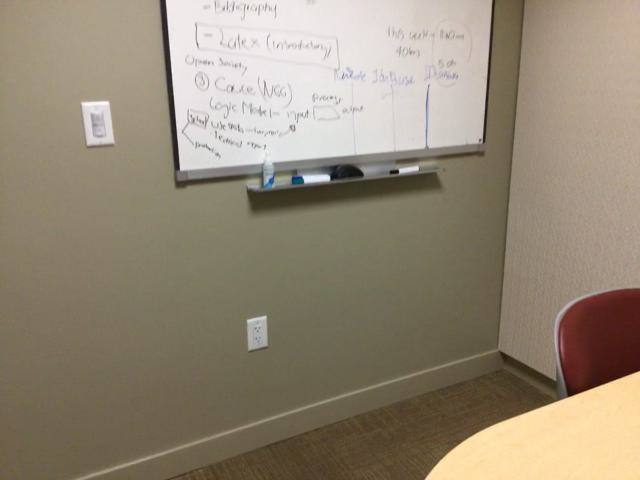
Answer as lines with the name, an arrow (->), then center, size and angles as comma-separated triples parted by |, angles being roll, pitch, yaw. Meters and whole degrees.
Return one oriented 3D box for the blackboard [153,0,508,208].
blackboard -> 0.100, -0.620, 1.820 | 1.200, 0.920, 0.070 | -8, 18, -25
